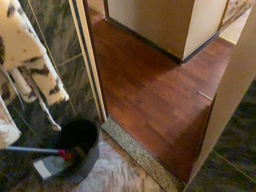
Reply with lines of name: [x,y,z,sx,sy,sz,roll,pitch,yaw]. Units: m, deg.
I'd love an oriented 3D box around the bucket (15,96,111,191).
bucket: [-0.360,0.290,1.310,0.220,0.320,0.460,34,61,25]
